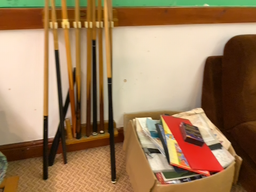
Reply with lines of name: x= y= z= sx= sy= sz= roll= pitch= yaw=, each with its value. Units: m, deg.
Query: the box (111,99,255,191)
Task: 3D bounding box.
box: x=0.260 y=0.330 z=1.230 sx=0.620 sy=0.300 sz=0.600 roll=-5 pitch=32 yaw=-13
